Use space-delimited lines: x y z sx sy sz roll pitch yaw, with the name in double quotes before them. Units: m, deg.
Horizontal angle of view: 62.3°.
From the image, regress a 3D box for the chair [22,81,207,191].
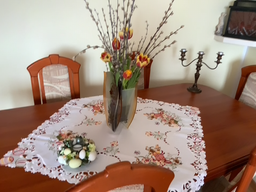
"chair" -0.140 0.530 0.970 0.480 1.020 0.580 -6 26 -22
